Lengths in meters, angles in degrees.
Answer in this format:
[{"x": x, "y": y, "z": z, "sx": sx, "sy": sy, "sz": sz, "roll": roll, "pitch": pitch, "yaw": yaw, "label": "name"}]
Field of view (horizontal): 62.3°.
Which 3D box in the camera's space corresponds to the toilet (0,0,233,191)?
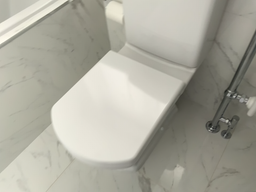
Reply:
[{"x": 0.020, "y": -0.060, "z": 0.840, "sx": 0.400, "sy": 0.780, "sz": 0.690, "roll": 28, "pitch": 60, "yaw": 22, "label": "toilet"}]
